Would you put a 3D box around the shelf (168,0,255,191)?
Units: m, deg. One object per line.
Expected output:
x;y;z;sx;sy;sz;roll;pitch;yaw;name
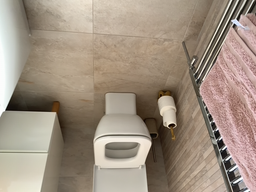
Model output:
0.360;0.180;0.660;0.140;1.330;0.670;-1;142;-3;shelf

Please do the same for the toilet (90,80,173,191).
-0.030;0.410;1.440;0.400;0.810;0.620;1;141;-7;toilet
